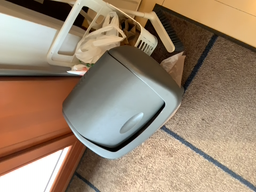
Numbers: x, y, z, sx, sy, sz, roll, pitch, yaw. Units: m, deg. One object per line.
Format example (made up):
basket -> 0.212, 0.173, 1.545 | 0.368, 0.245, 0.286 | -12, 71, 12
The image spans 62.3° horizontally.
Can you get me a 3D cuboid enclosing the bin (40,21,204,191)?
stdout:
bin -> 0.040, 0.010, 0.790 | 0.300, 0.530, 0.330 | 38, 107, 15
